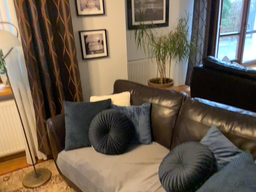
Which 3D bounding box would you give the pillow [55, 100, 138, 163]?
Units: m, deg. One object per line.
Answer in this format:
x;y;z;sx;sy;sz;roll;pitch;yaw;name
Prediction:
-0.270;0.300;1.780;0.640;0.340;0.150;17;40;6;pillow

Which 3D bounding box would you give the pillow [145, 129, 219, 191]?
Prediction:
0.360;0.450;1.380;0.380;0.240;0.390;7;23;25;pillow
